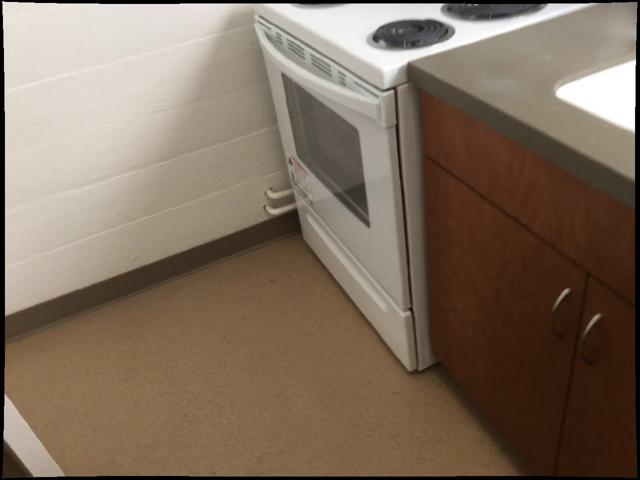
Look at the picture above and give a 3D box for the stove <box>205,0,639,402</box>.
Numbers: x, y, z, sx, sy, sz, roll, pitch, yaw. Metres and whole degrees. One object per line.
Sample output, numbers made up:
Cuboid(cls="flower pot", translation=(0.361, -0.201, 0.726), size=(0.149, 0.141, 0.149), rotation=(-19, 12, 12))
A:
Cuboid(cls="stove", translation=(0.239, -0.391, 1.710), size=(0.789, 1.212, 0.920), rotation=(-22, 40, -15))
